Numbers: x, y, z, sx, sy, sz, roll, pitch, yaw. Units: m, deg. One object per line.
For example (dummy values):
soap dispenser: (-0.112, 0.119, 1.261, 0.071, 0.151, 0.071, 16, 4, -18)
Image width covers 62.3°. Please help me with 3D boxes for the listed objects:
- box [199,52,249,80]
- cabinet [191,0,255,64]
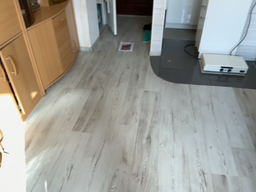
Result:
box: (1.170, -0.380, 2.640, 0.510, 0.120, 0.390, 7, 38, 9)
cabinet: (1.190, -0.930, 2.740, 0.560, 0.860, 0.480, 7, 38, 8)
